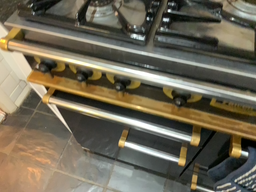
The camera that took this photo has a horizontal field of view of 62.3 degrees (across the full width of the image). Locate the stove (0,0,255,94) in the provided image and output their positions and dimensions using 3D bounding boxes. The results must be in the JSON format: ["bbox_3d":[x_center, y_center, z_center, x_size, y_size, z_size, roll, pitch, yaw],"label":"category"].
[{"bbox_3d":[0.330,-0.270,0.530,1.060,0.050,0.630,14,59,9],"label":"stove"}]
